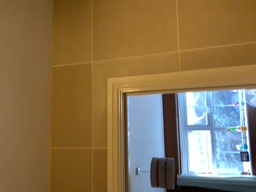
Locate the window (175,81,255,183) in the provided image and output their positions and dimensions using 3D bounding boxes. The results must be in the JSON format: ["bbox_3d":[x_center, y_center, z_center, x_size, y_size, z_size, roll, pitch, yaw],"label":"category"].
[{"bbox_3d":[1.550,0.620,3.870,0.200,1.270,1.700,36,-127,-67],"label":"window"}]
